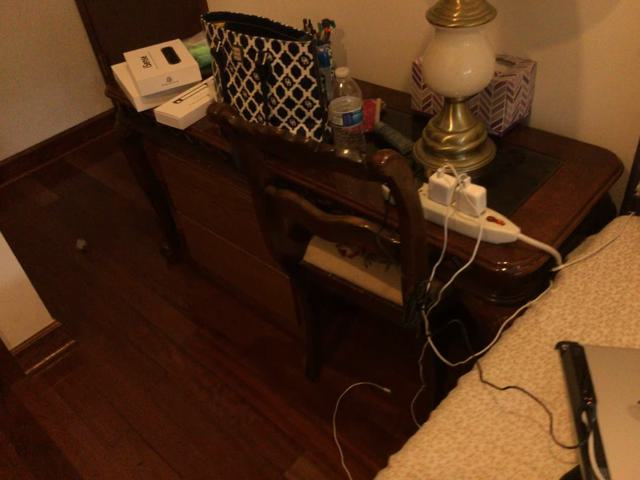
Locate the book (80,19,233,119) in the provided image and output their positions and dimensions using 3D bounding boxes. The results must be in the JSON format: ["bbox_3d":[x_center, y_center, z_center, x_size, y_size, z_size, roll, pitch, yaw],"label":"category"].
[{"bbox_3d":[-0.430,-0.460,1.520,0.240,0.110,0.320,-34,47,-30],"label":"book"}]

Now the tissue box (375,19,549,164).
[{"bbox_3d":[0.290,-0.330,1.250,0.140,0.190,0.330,-34,47,-30],"label":"tissue box"}]

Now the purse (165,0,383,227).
[{"bbox_3d":[-0.090,-0.290,1.220,0.200,0.340,0.410,-34,47,-30],"label":"purse"}]
